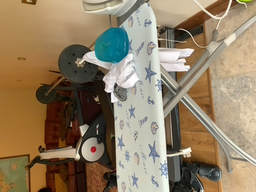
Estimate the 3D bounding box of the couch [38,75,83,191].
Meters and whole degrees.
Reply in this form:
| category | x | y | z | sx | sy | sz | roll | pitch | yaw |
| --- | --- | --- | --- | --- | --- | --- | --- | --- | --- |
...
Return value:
| category | x | y | z | sx | sy | sz | roll | pitch | yaw |
| --- | --- | --- | --- | --- | --- | --- | --- | --- | --- |
| couch | -1.670 | 1.000 | 5.120 | 1.070 | 0.740 | 2.830 | -12 | 81 | 61 |
